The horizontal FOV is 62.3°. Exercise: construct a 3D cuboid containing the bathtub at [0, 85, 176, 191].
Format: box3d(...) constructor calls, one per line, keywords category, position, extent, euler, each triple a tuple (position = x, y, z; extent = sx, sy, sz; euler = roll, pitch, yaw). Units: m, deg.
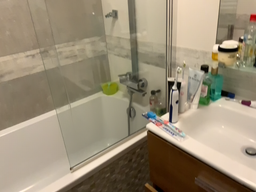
box3d(category="bathtub", position=(-0.420, 0.510, 1.330), extent=(1.380, 0.590, 0.700), euler=(-25, 33, -35))
